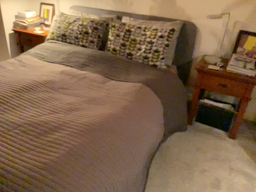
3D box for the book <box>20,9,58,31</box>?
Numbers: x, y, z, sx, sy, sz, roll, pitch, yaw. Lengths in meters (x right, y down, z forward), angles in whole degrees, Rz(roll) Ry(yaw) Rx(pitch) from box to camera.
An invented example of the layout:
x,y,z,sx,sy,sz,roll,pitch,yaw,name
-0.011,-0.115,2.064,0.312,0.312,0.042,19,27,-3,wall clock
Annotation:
x,y,z,sx,sy,sz,roll,pitch,yaw,name
-1.190,-1.030,2.850,0.270,0.210,0.360,17,31,21,book
